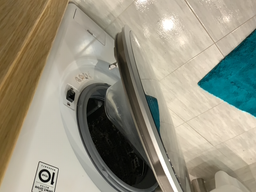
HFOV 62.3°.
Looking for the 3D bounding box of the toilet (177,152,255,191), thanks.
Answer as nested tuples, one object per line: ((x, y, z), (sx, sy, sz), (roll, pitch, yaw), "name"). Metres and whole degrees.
((0.710, 0.740, 1.570), (0.520, 0.350, 0.370), (34, 122, -31), "toilet")

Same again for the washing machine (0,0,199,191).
((-0.160, 0.180, 0.760), (0.490, 0.850, 0.620), (-35, 127, 25), "washing machine")
